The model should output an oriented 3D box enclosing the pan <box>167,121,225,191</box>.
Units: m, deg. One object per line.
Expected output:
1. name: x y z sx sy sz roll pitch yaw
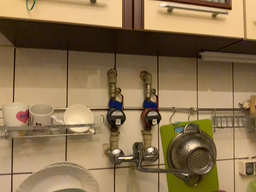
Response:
1. pan: 0.310 0.270 0.970 0.230 0.300 0.110 1 -2 -20
